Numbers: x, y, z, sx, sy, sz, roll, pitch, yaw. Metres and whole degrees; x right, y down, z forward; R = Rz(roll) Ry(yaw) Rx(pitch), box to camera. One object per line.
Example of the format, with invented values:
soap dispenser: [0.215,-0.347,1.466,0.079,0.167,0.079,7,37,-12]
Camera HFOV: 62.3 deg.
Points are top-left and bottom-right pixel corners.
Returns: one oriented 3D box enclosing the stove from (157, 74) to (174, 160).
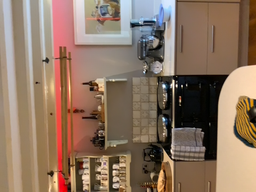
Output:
stove: [0.470,0.220,2.740,0.700,0.030,0.980,-126,36,-84]
